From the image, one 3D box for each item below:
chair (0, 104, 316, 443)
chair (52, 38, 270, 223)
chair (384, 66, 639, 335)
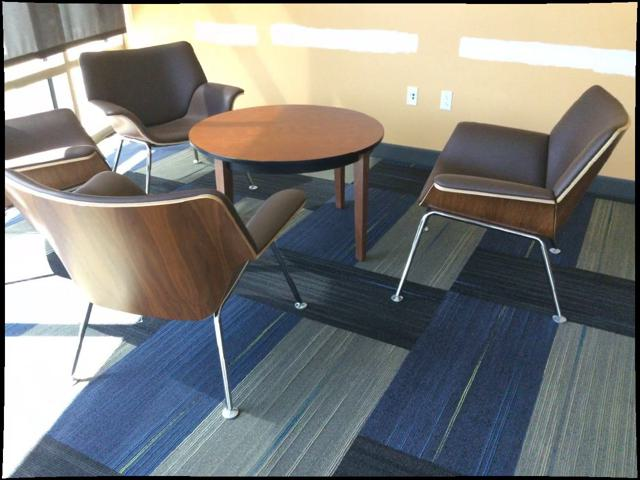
[{"bbox_3d":[-0.549,0.040,1.980,0.858,0.751,0.770,8,31,16],"label":"chair"},{"bbox_3d":[-0.928,-0.712,3.450,0.899,0.731,0.839,-22,35,-32],"label":"chair"},{"bbox_3d":[0.778,-0.241,2.440,0.788,0.751,0.890,9,30,19],"label":"chair"}]
